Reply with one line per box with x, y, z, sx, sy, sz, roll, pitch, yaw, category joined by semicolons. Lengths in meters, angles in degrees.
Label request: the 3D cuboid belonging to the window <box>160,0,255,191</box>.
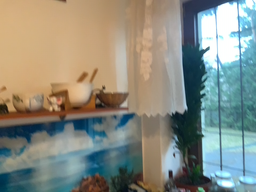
0.960;0.030;1.290;1.590;1.780;0.280;-2;0;44;window
